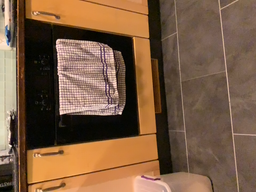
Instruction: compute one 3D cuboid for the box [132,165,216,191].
[{"bbox_3d":[0.240,0.550,1.100,0.270,0.330,0.270,-11,81,59],"label":"box"}]
